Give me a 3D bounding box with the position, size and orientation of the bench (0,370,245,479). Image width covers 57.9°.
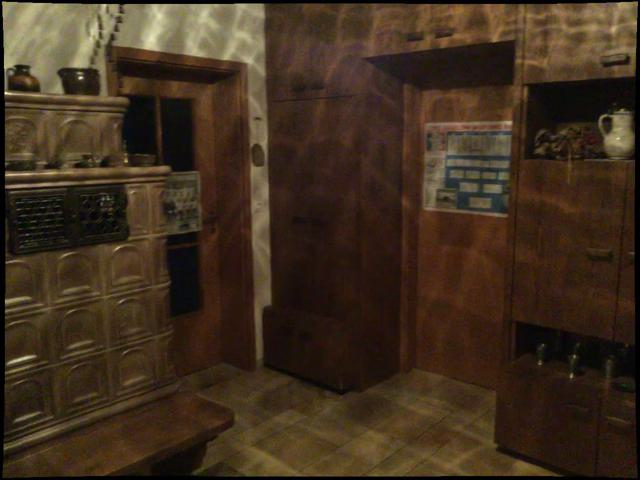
[{"bbox_3d":[-0.929,0.941,2.010,0.550,0.470,1.269,8,14,41],"label":"bench"}]
